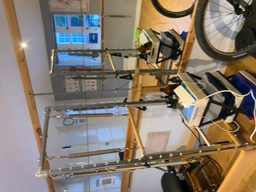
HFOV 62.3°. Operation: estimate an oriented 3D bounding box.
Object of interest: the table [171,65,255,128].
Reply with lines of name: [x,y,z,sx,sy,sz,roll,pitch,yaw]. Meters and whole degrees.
table: [0.820,-0.020,1.870,0.460,0.690,0.290,-110,20,-49]
